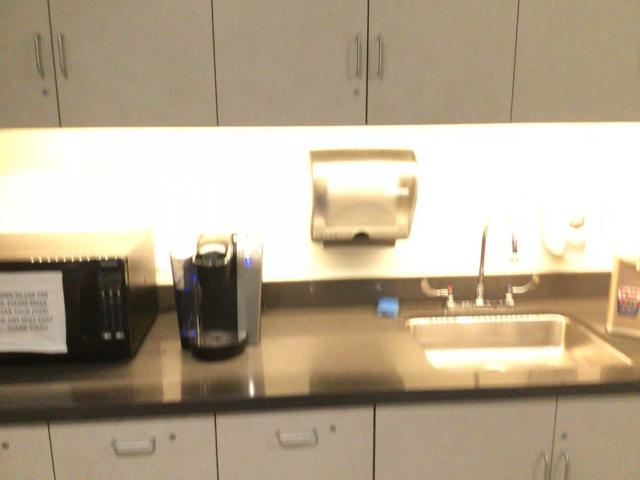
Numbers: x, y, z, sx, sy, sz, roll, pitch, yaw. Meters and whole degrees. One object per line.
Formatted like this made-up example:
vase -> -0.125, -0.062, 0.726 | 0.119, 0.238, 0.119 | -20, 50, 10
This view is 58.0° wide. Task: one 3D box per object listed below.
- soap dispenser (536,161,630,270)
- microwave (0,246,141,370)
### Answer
soap dispenser -> 0.830, -0.080, 1.840 | 0.220, 0.330, 0.110 | -1, 12, -4
microwave -> -0.740, 0.170, 1.440 | 0.540, 0.290, 0.080 | -1, 12, -4
